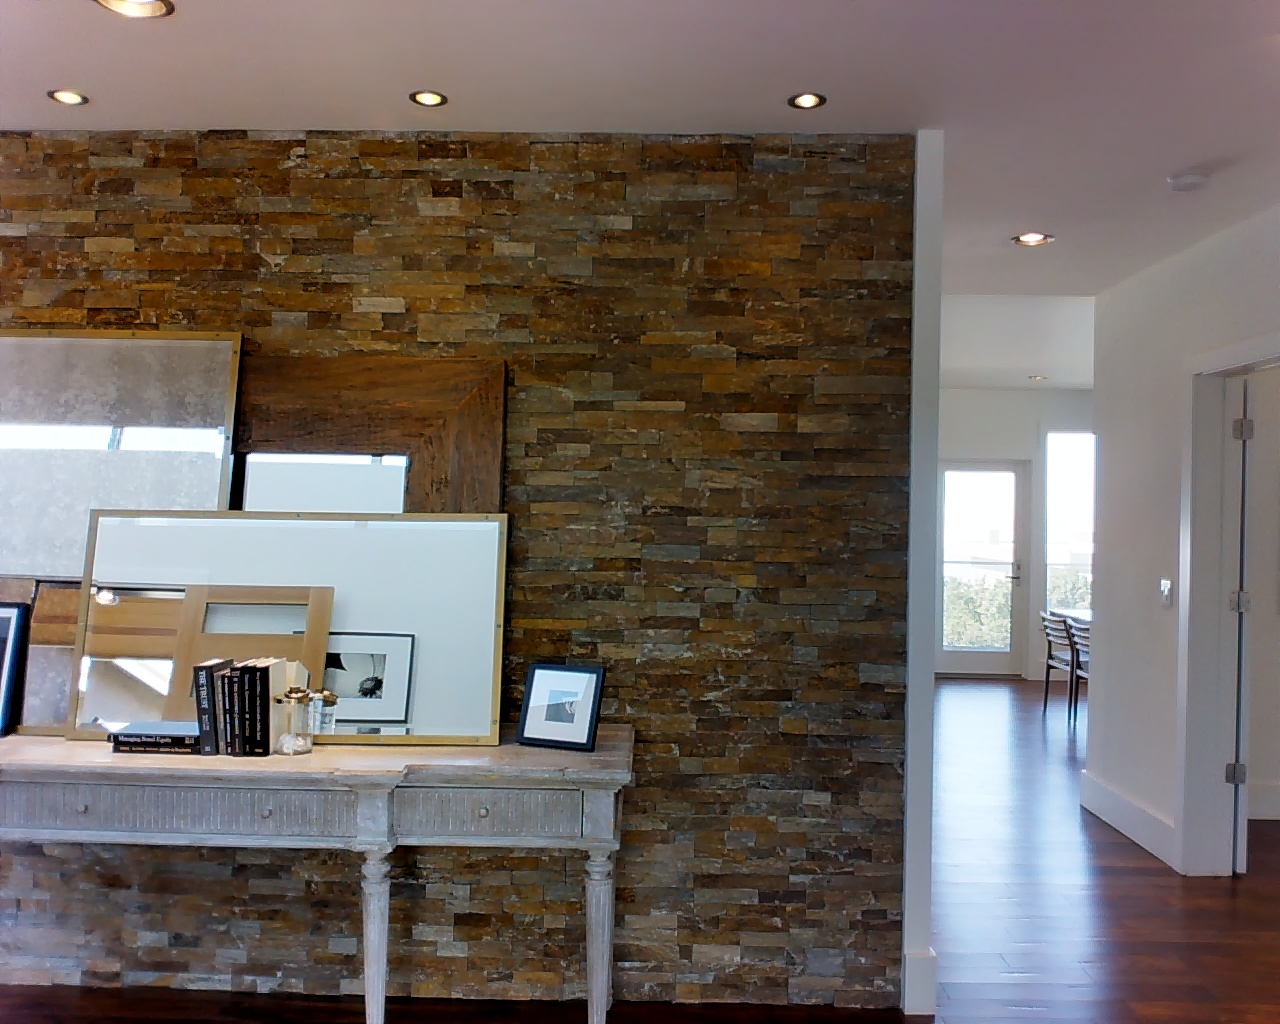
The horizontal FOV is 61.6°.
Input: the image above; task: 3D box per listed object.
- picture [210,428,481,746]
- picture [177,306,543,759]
[{"bbox_3d":[-0.880,0.220,3.240,0.760,0.920,0.150,1,0,1],"label":"picture"},{"bbox_3d":[-0.840,0.060,3.240,0.840,1.190,0.080,13,0,1],"label":"picture"}]
